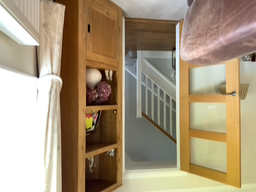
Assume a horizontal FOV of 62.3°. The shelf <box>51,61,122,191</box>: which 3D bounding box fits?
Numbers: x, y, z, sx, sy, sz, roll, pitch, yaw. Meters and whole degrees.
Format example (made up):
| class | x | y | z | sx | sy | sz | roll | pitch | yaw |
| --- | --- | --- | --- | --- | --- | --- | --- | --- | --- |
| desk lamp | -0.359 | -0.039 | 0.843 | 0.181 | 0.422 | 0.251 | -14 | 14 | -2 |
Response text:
| class | x | y | z | sx | sy | sz | roll | pitch | yaw |
| --- | --- | --- | --- | --- | --- | --- | --- | --- | --- |
| shelf | -0.400 | 0.360 | 2.230 | 0.330 | 1.320 | 0.710 | 0 | 179 | 31 |
